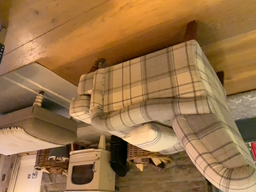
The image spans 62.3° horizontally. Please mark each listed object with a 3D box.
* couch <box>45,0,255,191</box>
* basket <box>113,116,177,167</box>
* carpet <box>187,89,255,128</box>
[{"bbox_3d":[0.230,0.200,1.440,1.050,0.920,0.900,-14,151,28],"label":"couch"},{"bbox_3d":[0.230,0.640,2.820,0.630,0.500,0.590,-13,152,26],"label":"basket"},{"bbox_3d":[1.060,0.140,2.140,0.770,0.130,0.490,-14,151,28],"label":"carpet"}]
